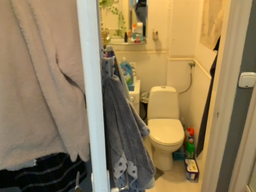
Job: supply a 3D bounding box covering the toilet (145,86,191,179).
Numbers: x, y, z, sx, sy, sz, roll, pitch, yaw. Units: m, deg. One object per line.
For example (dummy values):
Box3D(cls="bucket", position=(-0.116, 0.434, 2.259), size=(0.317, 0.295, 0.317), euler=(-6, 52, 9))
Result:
Box3D(cls="toilet", position=(0.380, 0.360, 2.280), size=(0.360, 0.740, 0.640), euler=(2, 24, 3))
